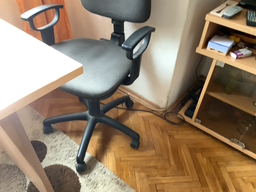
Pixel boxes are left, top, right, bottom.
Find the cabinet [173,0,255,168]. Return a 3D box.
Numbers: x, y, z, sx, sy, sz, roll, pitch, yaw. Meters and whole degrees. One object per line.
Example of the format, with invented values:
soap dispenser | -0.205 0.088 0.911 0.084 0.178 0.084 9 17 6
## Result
cabinet | 0.830 -0.070 1.260 0.800 0.740 0.590 29 47 26
